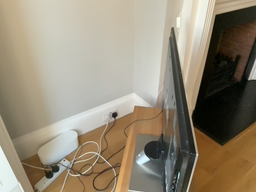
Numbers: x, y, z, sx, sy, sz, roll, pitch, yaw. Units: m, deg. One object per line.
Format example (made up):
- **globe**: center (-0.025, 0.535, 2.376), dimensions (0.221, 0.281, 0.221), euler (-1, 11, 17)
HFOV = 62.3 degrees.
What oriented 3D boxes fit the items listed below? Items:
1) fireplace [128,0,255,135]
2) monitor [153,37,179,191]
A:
- **fireplace**: center (0.880, -0.650, 2.090), dimensions (1.740, 1.400, 0.570), euler (-22, 41, -29)
- **monitor**: center (0.160, 0.120, 1.060), dimensions (0.030, 0.540, 0.880), euler (4, 35, 5)
